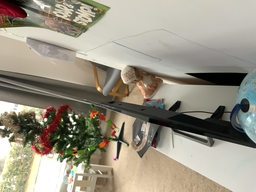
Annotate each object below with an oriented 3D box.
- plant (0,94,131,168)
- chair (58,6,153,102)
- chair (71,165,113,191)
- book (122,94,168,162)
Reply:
[{"bbox_3d":[-0.950,0.440,2.710,0.660,1.790,0.610,11,88,65],"label":"plant"},{"bbox_3d":[-0.330,-0.530,2.870,0.680,0.990,0.790,-53,34,41],"label":"chair"},{"bbox_3d":[-0.510,1.170,2.970,0.310,0.460,0.280,7,84,65],"label":"chair"},{"bbox_3d":[0.100,0.190,1.400,0.320,0.080,0.380,7,84,65],"label":"book"}]
